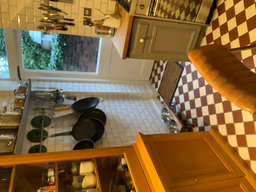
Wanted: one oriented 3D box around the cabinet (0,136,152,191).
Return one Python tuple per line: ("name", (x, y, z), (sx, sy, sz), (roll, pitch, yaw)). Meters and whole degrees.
("cabinet", (-0.470, 0.820, 1.430), (1.100, 1.290, 0.310), (-115, 31, -50))
